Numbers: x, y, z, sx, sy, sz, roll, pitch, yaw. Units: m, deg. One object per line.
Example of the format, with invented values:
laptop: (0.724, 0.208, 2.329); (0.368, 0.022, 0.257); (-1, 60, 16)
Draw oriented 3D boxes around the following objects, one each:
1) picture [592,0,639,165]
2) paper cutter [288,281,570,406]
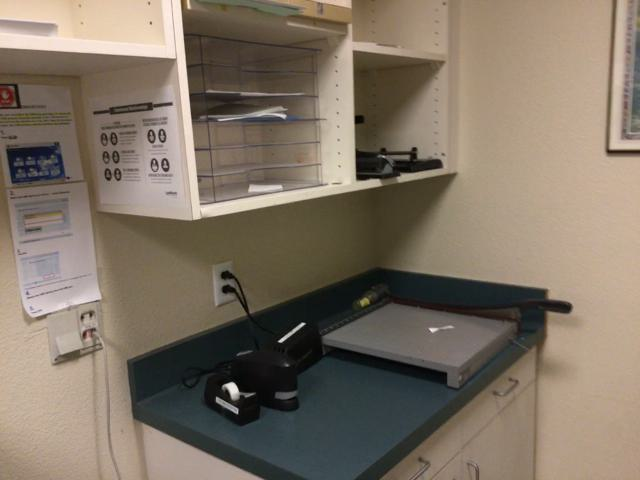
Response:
picture: (0.860, -0.420, 1.340); (0.410, 0.460, 0.020); (1, 11, 41)
paper cutter: (0.290, 0.240, 1.550); (0.580, 0.120, 0.470); (1, 11, 41)
